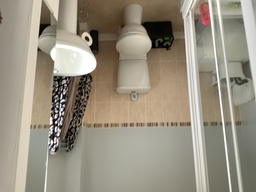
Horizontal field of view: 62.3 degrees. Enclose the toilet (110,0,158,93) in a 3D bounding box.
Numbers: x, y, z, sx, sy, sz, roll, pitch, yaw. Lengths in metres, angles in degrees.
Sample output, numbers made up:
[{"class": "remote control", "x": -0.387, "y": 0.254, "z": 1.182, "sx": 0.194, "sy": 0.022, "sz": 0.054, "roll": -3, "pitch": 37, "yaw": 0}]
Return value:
[{"class": "toilet", "x": 0.050, "y": -0.500, "z": 2.250, "sx": 0.420, "sy": 0.800, "sz": 0.660, "roll": -1, "pitch": 167, "yaw": 0}]
